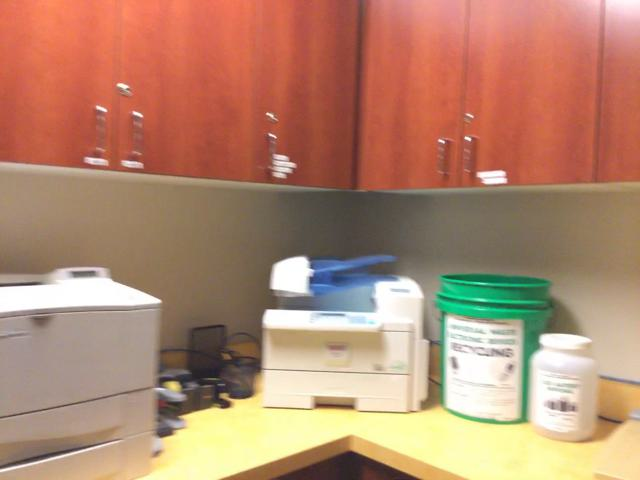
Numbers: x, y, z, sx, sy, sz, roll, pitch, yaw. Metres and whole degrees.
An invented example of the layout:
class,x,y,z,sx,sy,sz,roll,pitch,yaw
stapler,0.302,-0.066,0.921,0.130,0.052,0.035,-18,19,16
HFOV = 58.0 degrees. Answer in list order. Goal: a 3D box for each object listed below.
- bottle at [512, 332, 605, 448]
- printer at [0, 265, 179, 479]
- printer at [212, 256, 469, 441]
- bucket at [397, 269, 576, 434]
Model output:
class,x,y,z,sx,sy,sz,roll,pitch,yaw
bottle,0.590,0.360,1.430,0.140,0.230,0.160,2,0,-44
printer,-0.590,0.260,1.170,0.420,0.390,0.430,2,0,-44
printer,0.060,0.260,1.690,0.540,0.400,0.500,2,0,-44
bucket,0.470,0.280,1.630,0.350,0.370,0.340,2,0,-44
